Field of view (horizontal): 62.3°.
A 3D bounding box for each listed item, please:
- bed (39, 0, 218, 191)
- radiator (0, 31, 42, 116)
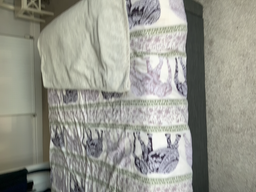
[{"bbox_3d":[-0.180,0.440,1.710,1.620,0.470,2.270,-1,90,49],"label":"bed"},{"bbox_3d":[-1.720,-0.330,3.260,0.120,0.680,1.240,-5,88,49],"label":"radiator"}]
